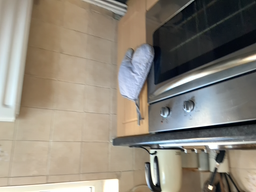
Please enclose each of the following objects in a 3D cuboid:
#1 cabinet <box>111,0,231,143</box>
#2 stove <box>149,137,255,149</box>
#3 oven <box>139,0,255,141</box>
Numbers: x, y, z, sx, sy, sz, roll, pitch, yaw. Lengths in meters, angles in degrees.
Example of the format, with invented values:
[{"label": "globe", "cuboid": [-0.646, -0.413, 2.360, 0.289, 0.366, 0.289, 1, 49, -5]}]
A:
[{"label": "cabinet", "cuboid": [0.240, -0.180, 1.280, 0.600, 0.900, 0.300, 7, 164, -30]}, {"label": "stove", "cuboid": [0.490, 0.180, 0.790, 0.580, 0.030, 0.600, 7, 164, -30]}, {"label": "oven", "cuboid": [0.470, -0.280, 0.900, 0.600, 0.900, 0.600, 7, 164, -30]}]
